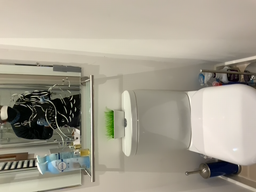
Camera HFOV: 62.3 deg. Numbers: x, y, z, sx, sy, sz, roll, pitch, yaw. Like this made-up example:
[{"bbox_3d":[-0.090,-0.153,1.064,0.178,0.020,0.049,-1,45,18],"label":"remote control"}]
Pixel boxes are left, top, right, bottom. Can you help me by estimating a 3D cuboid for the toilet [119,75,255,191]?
[{"bbox_3d":[0.450,0.140,1.110,0.630,0.810,0.390,176,94,-66],"label":"toilet"}]
